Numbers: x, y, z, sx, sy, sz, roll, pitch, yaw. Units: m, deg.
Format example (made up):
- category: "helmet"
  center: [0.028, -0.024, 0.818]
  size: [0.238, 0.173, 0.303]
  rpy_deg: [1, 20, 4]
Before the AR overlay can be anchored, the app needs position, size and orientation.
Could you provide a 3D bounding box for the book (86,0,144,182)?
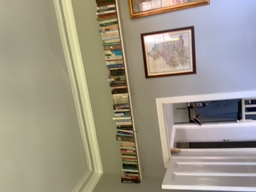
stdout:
- category: "book"
  center: [-0.240, -0.820, 2.250]
  size: [0.160, 0.280, 3.940]
  rpy_deg: [-50, -47, -68]
